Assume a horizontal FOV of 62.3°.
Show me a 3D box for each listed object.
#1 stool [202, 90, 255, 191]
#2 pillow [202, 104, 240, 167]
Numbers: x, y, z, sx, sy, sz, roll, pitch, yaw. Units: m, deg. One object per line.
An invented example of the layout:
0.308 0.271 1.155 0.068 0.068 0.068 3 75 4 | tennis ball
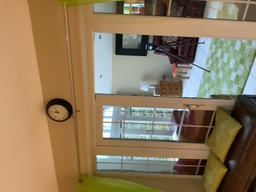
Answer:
1.300 0.620 2.330 0.500 0.540 1.260 -92 4 -60 | stool
0.980 0.430 2.300 0.360 0.110 0.580 -91 4 -58 | pillow
